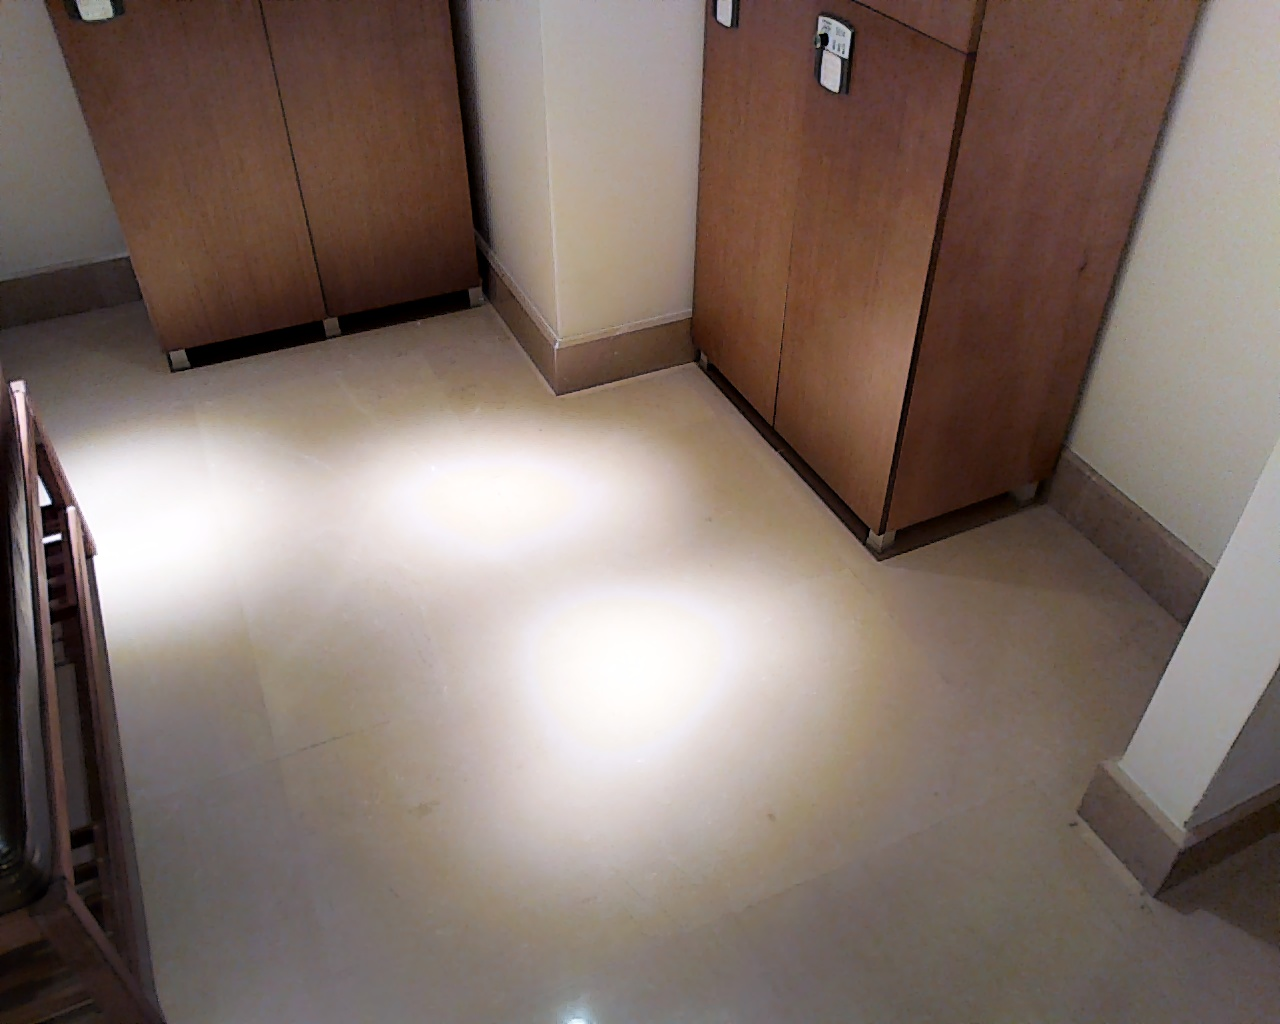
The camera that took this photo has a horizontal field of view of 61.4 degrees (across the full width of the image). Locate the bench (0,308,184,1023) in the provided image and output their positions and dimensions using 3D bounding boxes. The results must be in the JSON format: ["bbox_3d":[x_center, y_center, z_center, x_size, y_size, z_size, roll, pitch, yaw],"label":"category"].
[{"bbox_3d":[-1.220,0.290,1.710,0.630,0.560,1.260,-18,45,-19],"label":"bench"}]
